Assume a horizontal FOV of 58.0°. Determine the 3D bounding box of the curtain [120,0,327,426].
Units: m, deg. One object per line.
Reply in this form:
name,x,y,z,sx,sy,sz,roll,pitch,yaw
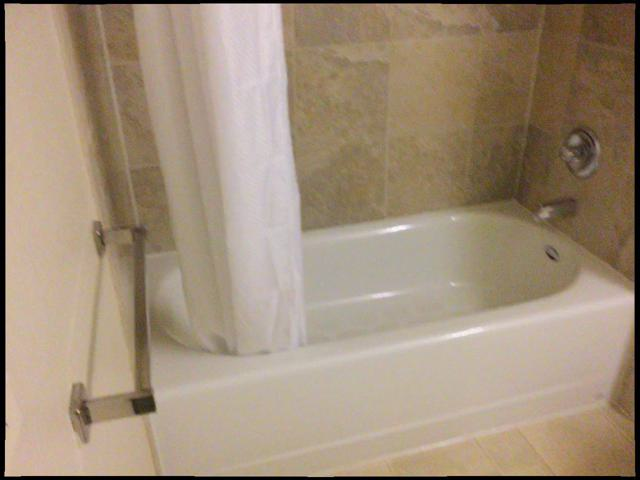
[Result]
curtain,-0.200,-0.401,1.090,0.309,1.743,0.280,-10,31,-13
